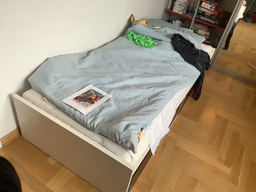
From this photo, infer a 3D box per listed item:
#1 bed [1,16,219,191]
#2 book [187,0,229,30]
[{"bbox_3d":[0.100,-0.180,2.210,1.070,0.480,2.180,27,42,18],"label":"bed"},{"bbox_3d":[1.210,-1.290,3.200,0.410,0.340,0.420,27,42,18],"label":"book"}]
